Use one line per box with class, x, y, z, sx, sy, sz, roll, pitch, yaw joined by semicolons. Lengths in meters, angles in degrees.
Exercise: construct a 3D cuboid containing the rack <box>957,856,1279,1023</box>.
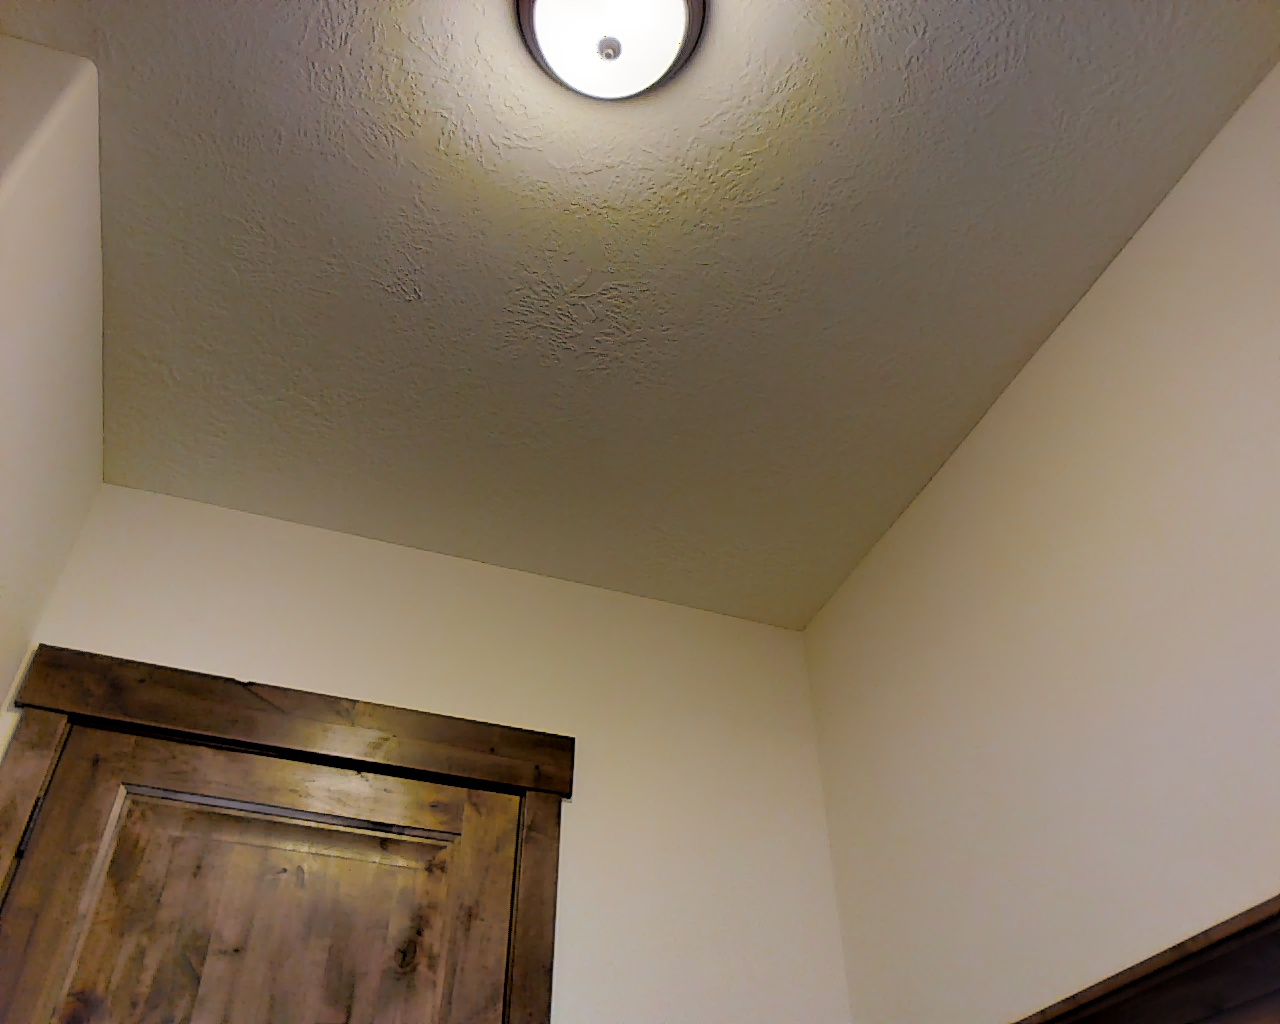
rack;0.660;0.740;1.580;0.100;0.100;1.530;14;-44;-15
